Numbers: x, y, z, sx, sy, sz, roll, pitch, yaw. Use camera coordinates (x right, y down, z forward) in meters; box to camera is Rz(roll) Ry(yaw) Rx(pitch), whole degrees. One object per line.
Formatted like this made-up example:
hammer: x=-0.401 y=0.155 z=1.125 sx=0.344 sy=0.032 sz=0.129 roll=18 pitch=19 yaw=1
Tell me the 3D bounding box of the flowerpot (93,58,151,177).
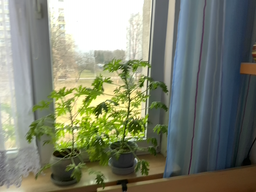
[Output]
flowerpot: x=-0.050 y=0.100 z=1.240 sx=0.270 sy=0.630 sz=0.240 roll=-2 pitch=11 yaw=-17
